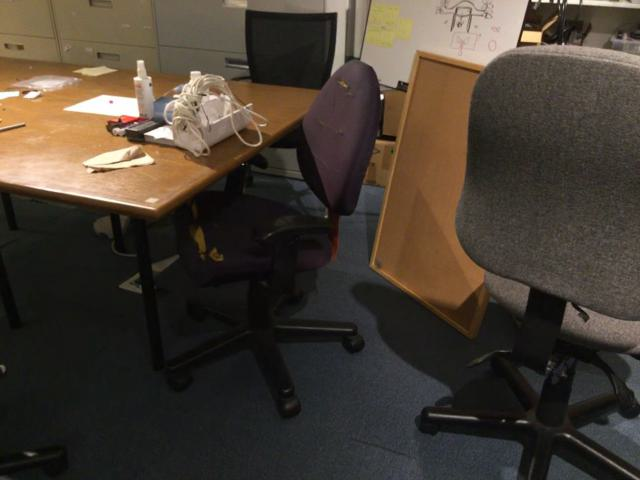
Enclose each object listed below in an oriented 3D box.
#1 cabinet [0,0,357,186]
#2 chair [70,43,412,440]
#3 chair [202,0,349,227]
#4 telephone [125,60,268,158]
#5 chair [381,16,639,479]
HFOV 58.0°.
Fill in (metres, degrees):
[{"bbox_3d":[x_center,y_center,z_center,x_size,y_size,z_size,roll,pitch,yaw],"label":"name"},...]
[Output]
[{"bbox_3d":[-0.960,-1.320,3.380,2.310,1.640,0.450,10,27,18],"label":"cabinet"},{"bbox_3d":[-0.180,-0.060,1.830,0.720,0.960,0.670,10,27,18],"label":"chair"},{"bbox_3d":[-0.170,-0.640,2.790,0.580,0.940,0.670,2,26,2],"label":"chair"},{"bbox_3d":[-0.340,-0.390,1.670,0.260,0.190,0.320,10,27,18],"label":"telephone"},{"bbox_3d":[0.580,0.110,1.350,0.510,1.120,0.650,23,33,37],"label":"chair"}]
